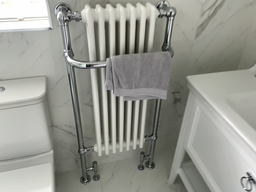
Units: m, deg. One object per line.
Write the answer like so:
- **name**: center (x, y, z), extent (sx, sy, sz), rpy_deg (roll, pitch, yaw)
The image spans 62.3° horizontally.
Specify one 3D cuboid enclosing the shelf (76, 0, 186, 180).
- **shelf**: center (-0.020, 0.020, 1.180), extent (0.410, 0.980, 0.270), rpy_deg (-7, 36, -13)
